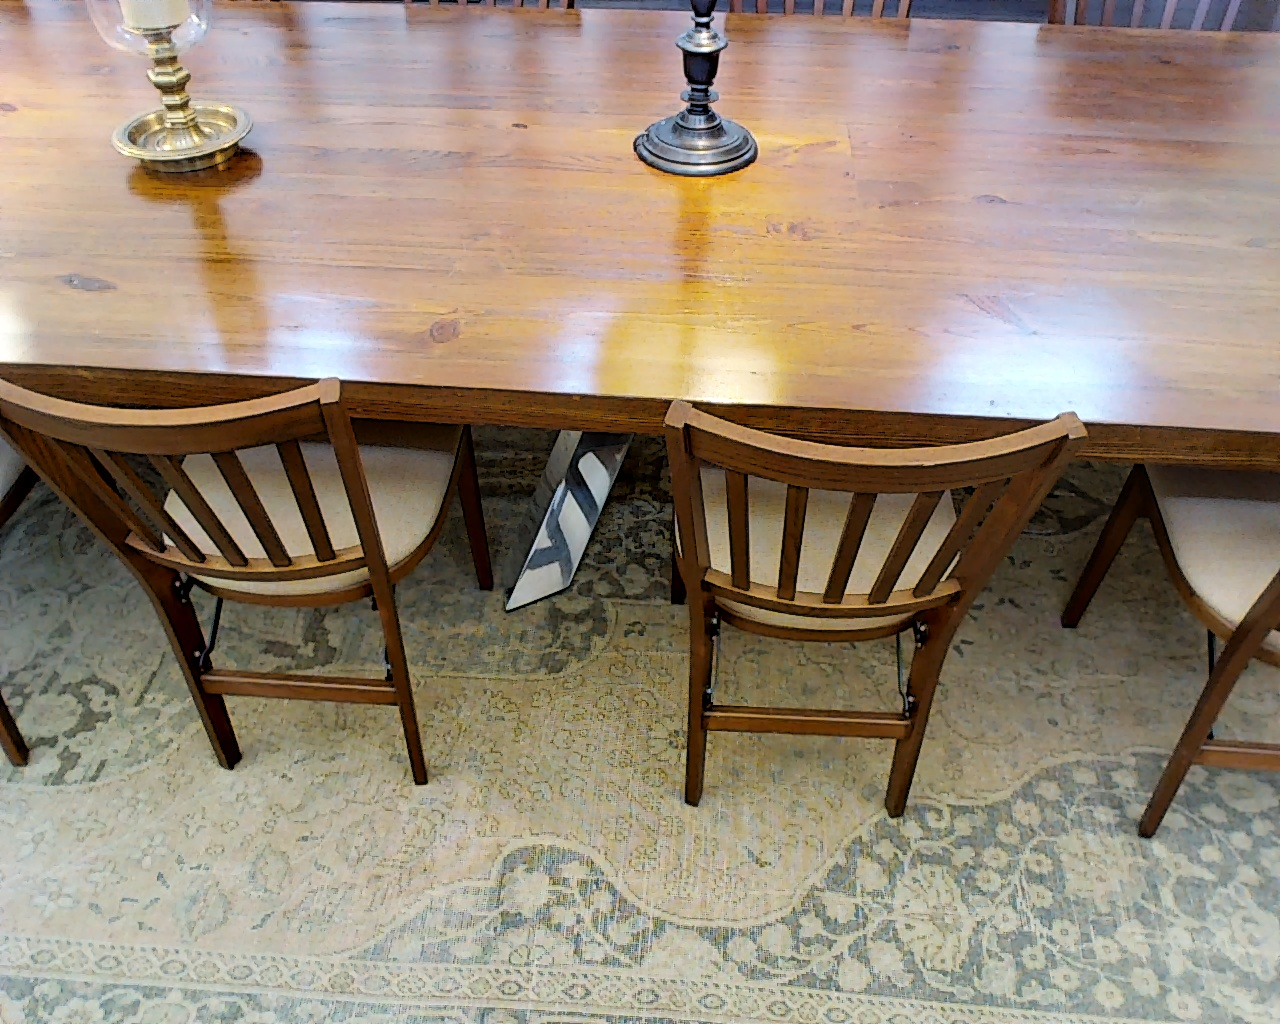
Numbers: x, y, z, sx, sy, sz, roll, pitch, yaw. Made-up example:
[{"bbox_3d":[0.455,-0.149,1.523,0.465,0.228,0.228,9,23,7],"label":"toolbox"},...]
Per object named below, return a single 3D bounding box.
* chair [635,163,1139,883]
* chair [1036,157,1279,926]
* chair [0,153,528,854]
[{"bbox_3d":[0.260,0.030,1.560,0.490,0.830,0.610,3,43,3],"label":"chair"},{"bbox_3d":[0.970,0.060,1.510,0.470,0.840,0.680,3,43,3],"label":"chair"},{"bbox_3d":[-0.510,0.010,1.590,0.550,0.850,0.570,3,43,3],"label":"chair"}]
